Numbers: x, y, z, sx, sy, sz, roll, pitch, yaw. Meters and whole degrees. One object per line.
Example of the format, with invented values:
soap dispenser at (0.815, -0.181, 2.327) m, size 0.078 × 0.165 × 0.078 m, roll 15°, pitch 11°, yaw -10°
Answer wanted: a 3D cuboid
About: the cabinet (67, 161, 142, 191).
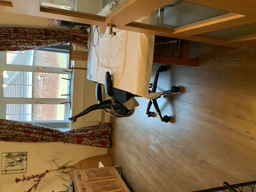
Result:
cabinet at (-0.380, 1.510, 3.190) m, size 1.190 × 0.880 × 0.480 m, roll -155°, pitch 69°, yaw -65°
